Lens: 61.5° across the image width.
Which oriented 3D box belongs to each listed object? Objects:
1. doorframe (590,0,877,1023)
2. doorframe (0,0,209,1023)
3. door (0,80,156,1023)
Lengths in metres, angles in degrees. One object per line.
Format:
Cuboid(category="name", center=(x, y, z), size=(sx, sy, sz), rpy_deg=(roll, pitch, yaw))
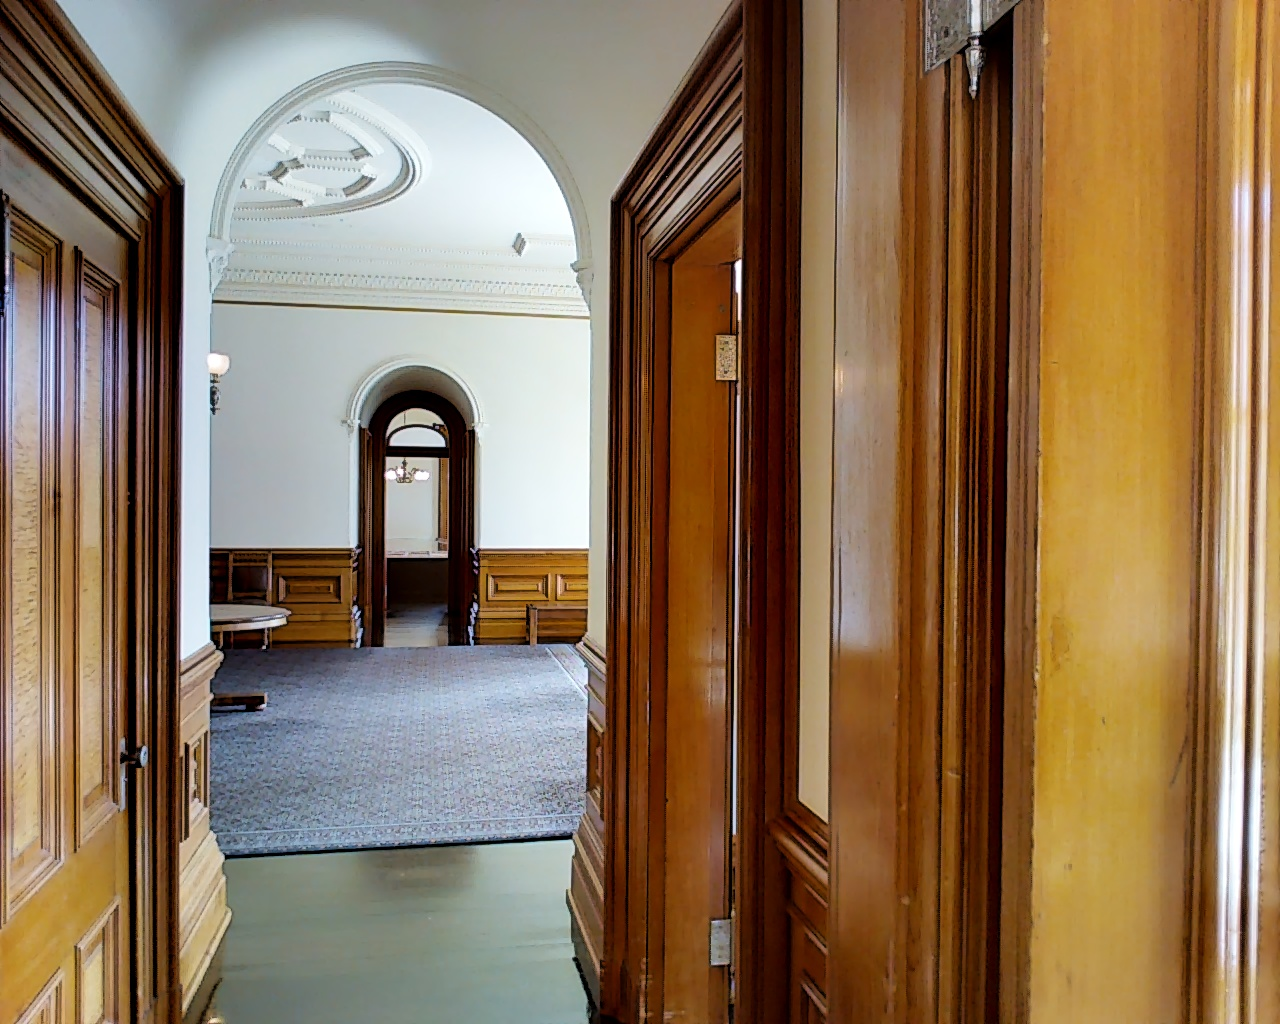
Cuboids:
Cuboid(category="doorframe", center=(0.140, 0.180, 2.710), size=(0.290, 2.610, 1.510), rpy_deg=(0, 1, -12))
Cuboid(category="doorframe", center=(-1.180, 0.220, 2.360), size=(0.140, 2.510, 1.620), rpy_deg=(0, 1, -11))
Cuboid(category="door", center=(-1.230, 0.360, 2.370), size=(0.070, 2.220, 1.040), rpy_deg=(0, 1, -11))
